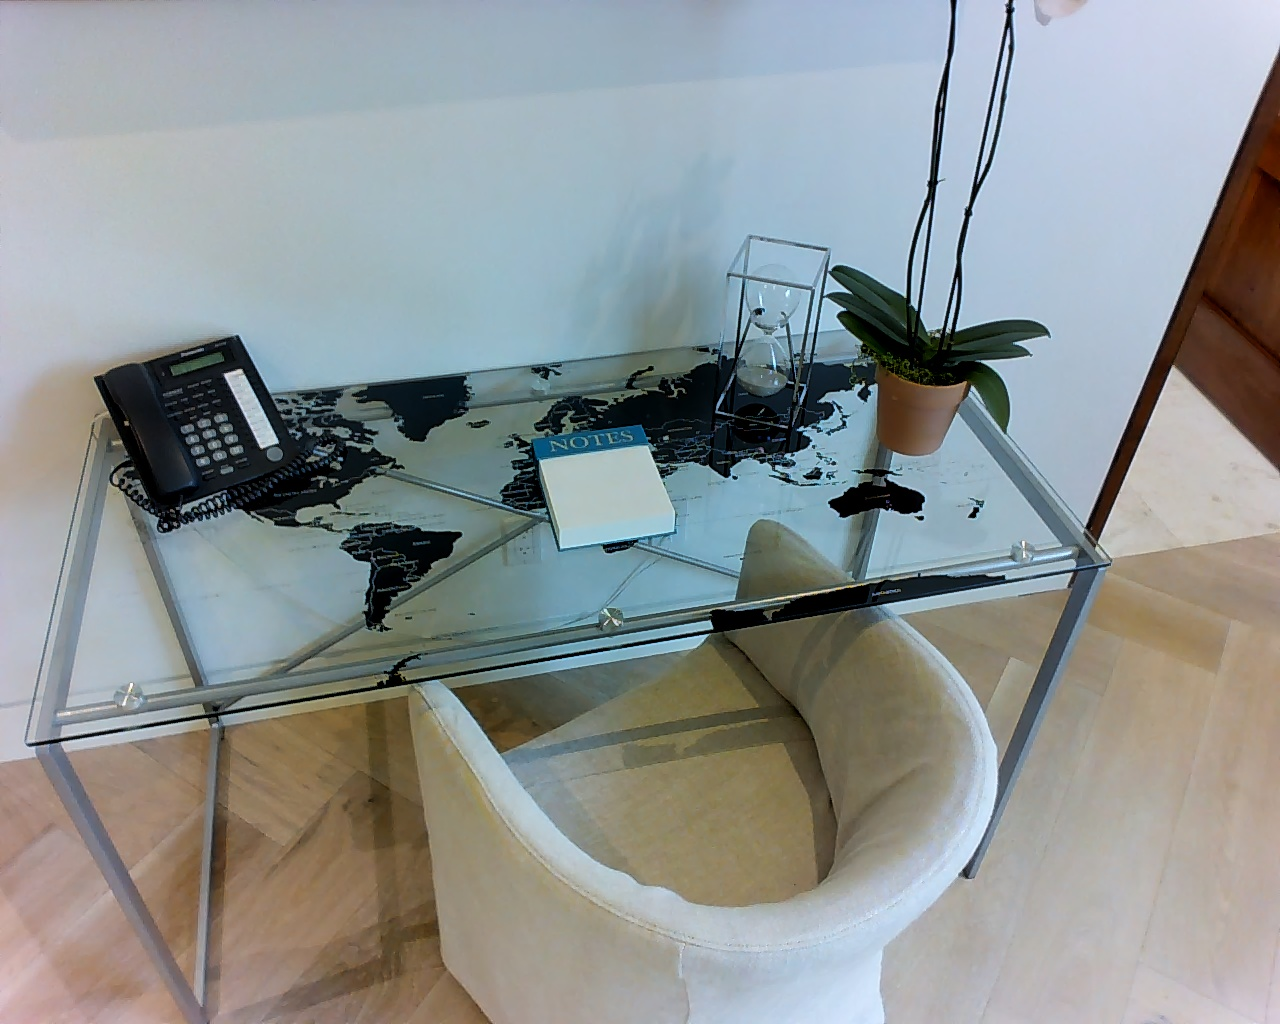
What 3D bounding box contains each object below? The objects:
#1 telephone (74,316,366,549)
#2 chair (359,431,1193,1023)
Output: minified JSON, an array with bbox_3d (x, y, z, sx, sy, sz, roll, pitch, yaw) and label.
[{"bbox_3d":[-0.570,-0.120,1.460,0.290,0.120,0.250,-24,47,-26],"label":"telephone"},{"bbox_3d":[0.120,0.480,1.430,0.630,0.790,0.660,-25,48,-27],"label":"chair"}]
